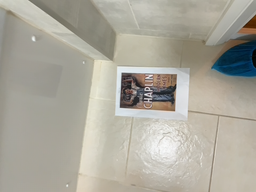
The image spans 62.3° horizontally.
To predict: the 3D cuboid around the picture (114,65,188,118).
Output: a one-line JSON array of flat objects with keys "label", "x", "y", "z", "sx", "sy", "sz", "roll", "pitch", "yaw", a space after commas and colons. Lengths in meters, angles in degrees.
[{"label": "picture", "x": 0.090, "y": -0.020, "z": 0.870, "sx": 0.300, "sy": 0.010, "sz": 0.210, "roll": 1, "pitch": 90, "yaw": 10}]
